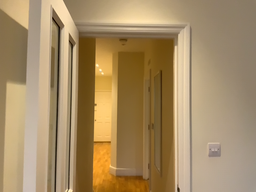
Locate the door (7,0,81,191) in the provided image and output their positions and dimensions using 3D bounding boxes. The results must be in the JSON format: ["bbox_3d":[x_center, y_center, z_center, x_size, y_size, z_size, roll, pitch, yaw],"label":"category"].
[{"bbox_3d":[-0.370,0.530,1.080,0.060,2.070,0.850,1,-2,-2],"label":"door"}]
